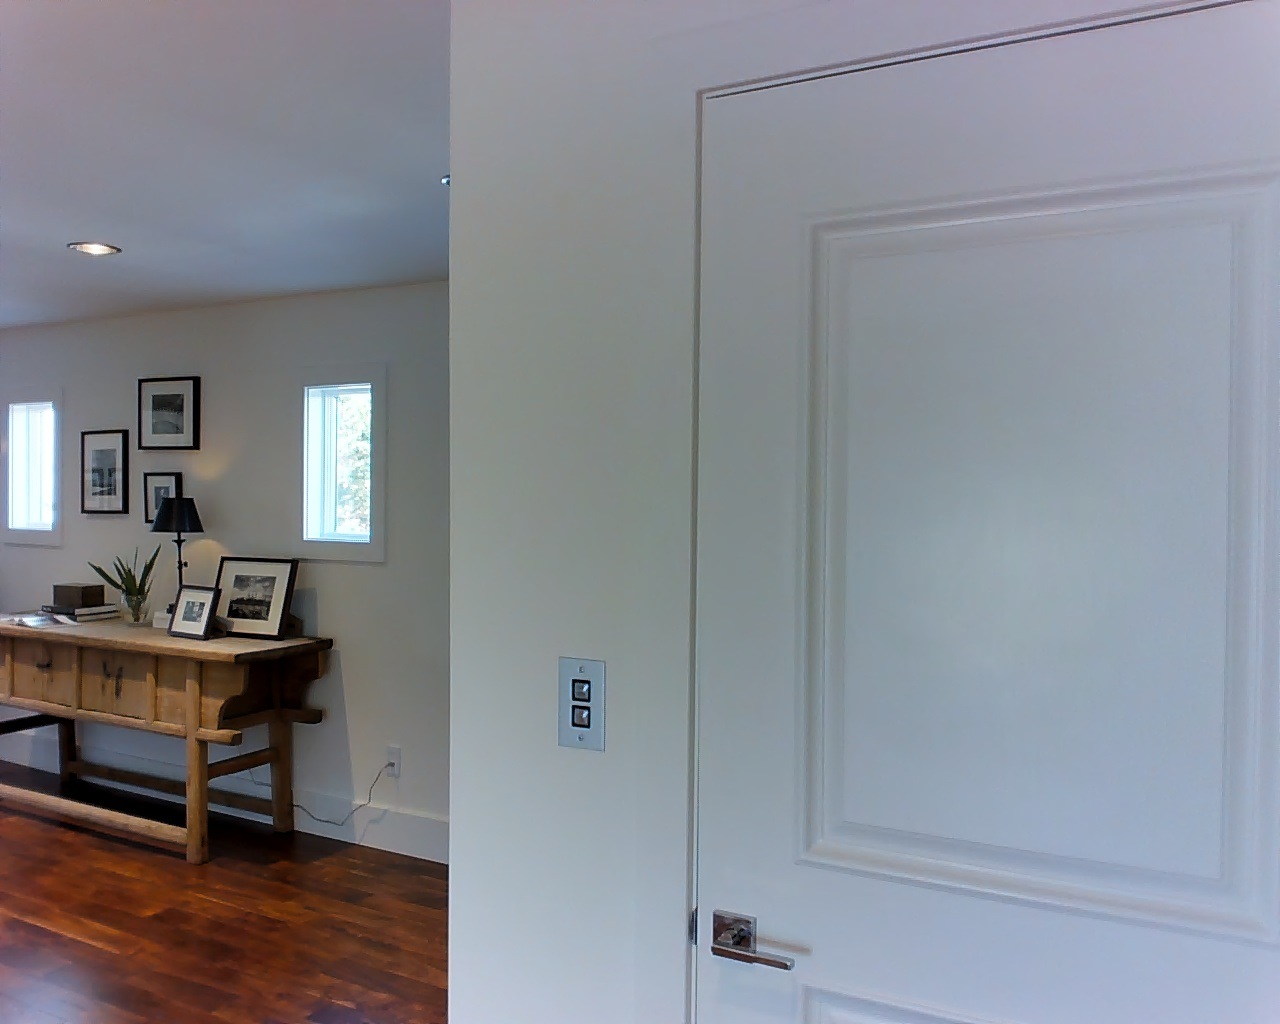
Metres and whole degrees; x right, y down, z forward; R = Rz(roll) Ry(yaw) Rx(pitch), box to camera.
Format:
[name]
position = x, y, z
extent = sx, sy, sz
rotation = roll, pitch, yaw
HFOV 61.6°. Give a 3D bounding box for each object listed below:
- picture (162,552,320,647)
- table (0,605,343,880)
[picture]
position = -1.790, 0.380, 4.820
extent = 0.580, 0.360, 0.380
rotation = 1, 1, 29
[table]
position = -2.430, 0.990, 5.070
extent = 2.230, 0.920, 0.550
rotation = 1, 1, 29
